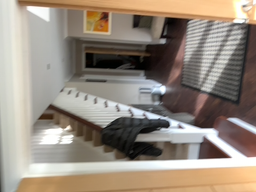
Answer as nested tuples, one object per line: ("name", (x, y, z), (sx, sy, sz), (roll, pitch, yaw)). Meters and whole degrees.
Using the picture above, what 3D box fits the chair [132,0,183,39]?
("chair", (0.600, -1.690, 4.640), (0.780, 0.850, 0.810), (-122, 34, -72))
